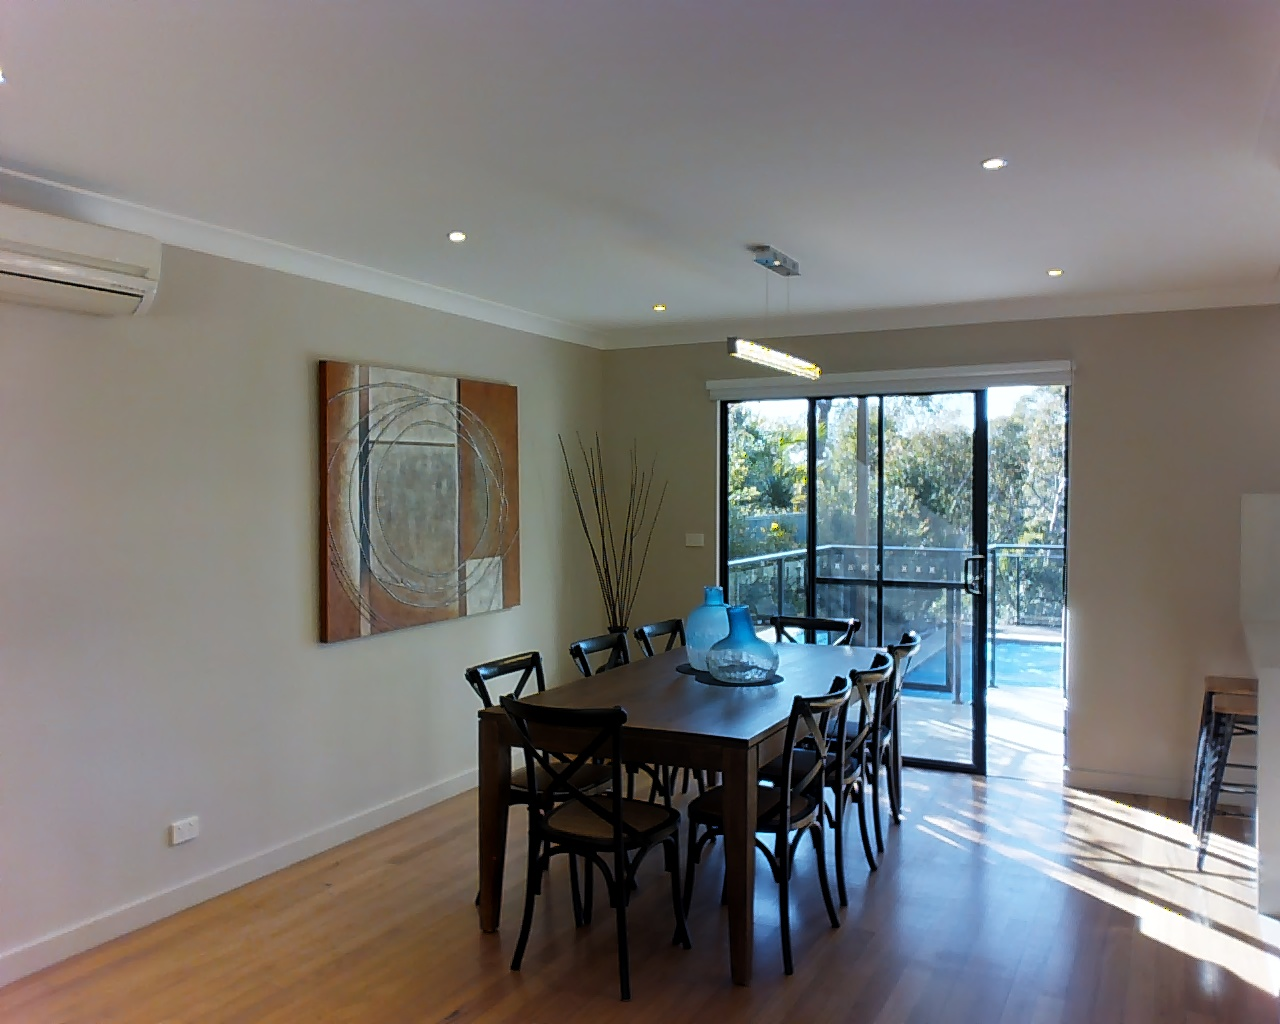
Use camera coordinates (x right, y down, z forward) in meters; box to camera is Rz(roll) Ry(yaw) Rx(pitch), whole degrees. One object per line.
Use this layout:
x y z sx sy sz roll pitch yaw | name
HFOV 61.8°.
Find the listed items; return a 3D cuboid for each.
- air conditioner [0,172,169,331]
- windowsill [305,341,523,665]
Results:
-1.909 -0.790 3.150 0.250 0.360 1.030 1 1 26 | air conditioner
-1.020 -0.050 5.170 0.060 1.350 1.580 1 1 26 | windowsill
